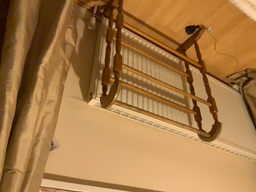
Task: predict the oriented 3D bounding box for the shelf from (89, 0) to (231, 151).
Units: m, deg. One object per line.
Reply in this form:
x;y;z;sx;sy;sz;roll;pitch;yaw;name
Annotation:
0.190;-0.160;1.190;0.720;0.770;0.160;21;141;-27;shelf
